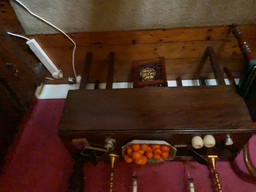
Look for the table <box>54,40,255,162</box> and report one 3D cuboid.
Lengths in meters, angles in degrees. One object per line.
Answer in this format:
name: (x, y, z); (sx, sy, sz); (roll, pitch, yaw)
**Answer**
table: (0.150, 0.030, 1.510); (1.070, 0.720, 0.430); (-2, 141, 4)
